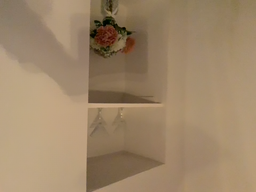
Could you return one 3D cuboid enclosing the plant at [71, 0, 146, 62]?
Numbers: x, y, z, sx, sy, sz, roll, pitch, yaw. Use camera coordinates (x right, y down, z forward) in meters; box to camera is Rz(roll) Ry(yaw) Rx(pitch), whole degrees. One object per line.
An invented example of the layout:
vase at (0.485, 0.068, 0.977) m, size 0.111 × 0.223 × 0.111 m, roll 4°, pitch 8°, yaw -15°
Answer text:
plant at (-0.120, -0.490, 1.400) m, size 0.310 × 0.460 × 0.370 m, roll 2°, pitch 180°, yaw 36°
